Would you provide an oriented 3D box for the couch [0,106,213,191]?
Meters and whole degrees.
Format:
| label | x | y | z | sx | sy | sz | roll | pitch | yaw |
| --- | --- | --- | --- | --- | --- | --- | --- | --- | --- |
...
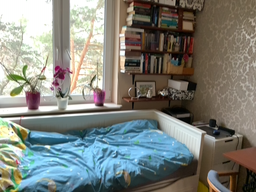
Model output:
| label | x | y | z | sx | sy | sz | roll | pitch | yaw |
| --- | --- | --- | --- | --- | --- | --- | --- | --- | --- |
| couch | -0.450 | 0.670 | 1.990 | 2.190 | 0.850 | 1.020 | -2 | 12 | -26 |
